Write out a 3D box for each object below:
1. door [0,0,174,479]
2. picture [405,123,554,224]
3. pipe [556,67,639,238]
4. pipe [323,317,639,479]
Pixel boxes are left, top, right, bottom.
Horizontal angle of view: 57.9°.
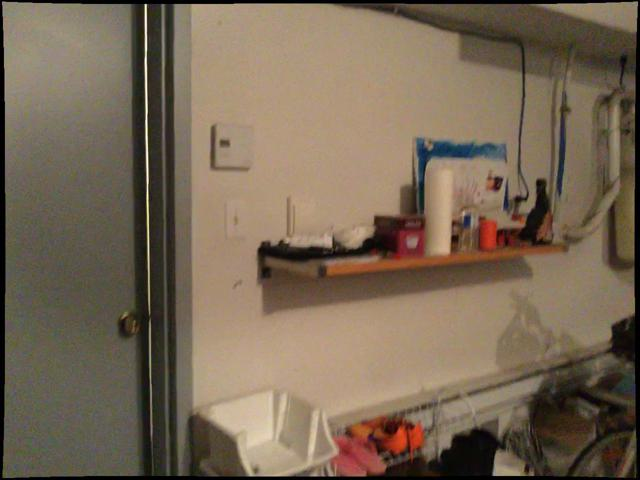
[{"bbox_3d":[-0.869,0.280,1.550,0.899,1.942,0.170,-6,12,-34],"label":"door"},{"bbox_3d":[0.619,-0.260,2.200,0.650,0.340,0.140,-6,12,-34],"label":"picture"},{"bbox_3d":[1.369,-0.400,2.690,0.520,0.721,0.190,-6,12,-34],"label":"pipe"},{"bbox_3d":[0.929,0.671,2.490,2.109,0.330,0.170,-6,12,-34],"label":"pipe"}]
